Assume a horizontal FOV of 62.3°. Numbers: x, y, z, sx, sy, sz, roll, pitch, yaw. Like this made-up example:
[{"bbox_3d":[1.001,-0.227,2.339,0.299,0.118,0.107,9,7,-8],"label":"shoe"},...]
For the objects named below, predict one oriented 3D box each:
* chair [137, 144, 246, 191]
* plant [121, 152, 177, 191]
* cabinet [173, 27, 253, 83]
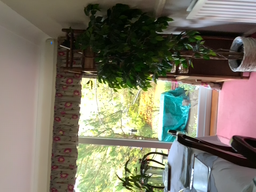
[{"bbox_3d":[0.630,0.890,2.340,0.560,1.000,0.520,-82,-4,-89],"label":"chair"},{"bbox_3d":[0.150,0.710,1.700,0.270,0.400,0.430,93,-179,-87],"label":"plant"},{"bbox_3d":[0.920,-0.430,2.470,0.740,0.600,0.470,-82,-4,-89],"label":"cabinet"}]
